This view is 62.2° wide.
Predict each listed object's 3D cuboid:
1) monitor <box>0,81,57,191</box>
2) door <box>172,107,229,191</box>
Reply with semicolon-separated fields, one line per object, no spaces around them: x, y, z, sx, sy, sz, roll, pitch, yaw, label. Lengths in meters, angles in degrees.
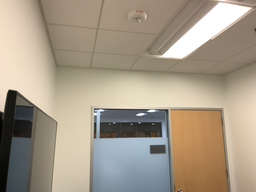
-0.470;0.480;1.140;0.070;0.850;1.440;1;-8;-15;monitor
1.160;1.330;3.300;0.890;2.290;0.060;2;-9;-14;door
